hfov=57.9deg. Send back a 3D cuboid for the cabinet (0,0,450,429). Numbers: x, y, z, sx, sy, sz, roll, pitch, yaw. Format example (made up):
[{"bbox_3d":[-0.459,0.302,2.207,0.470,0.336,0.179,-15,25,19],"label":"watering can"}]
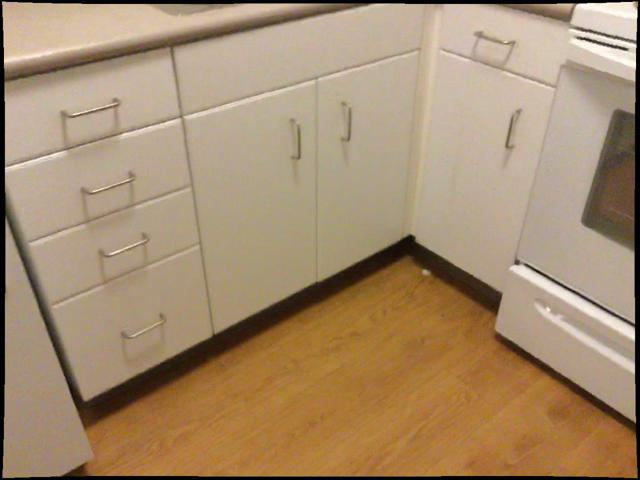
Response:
[{"bbox_3d":[-0.130,-0.120,1.490,1.129,0.861,0.110,-26,43,-29],"label":"cabinet"}]

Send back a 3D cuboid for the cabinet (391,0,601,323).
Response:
[{"bbox_3d":[0.420,-0.220,1.600,0.100,0.831,0.470,-26,43,-29],"label":"cabinet"}]
